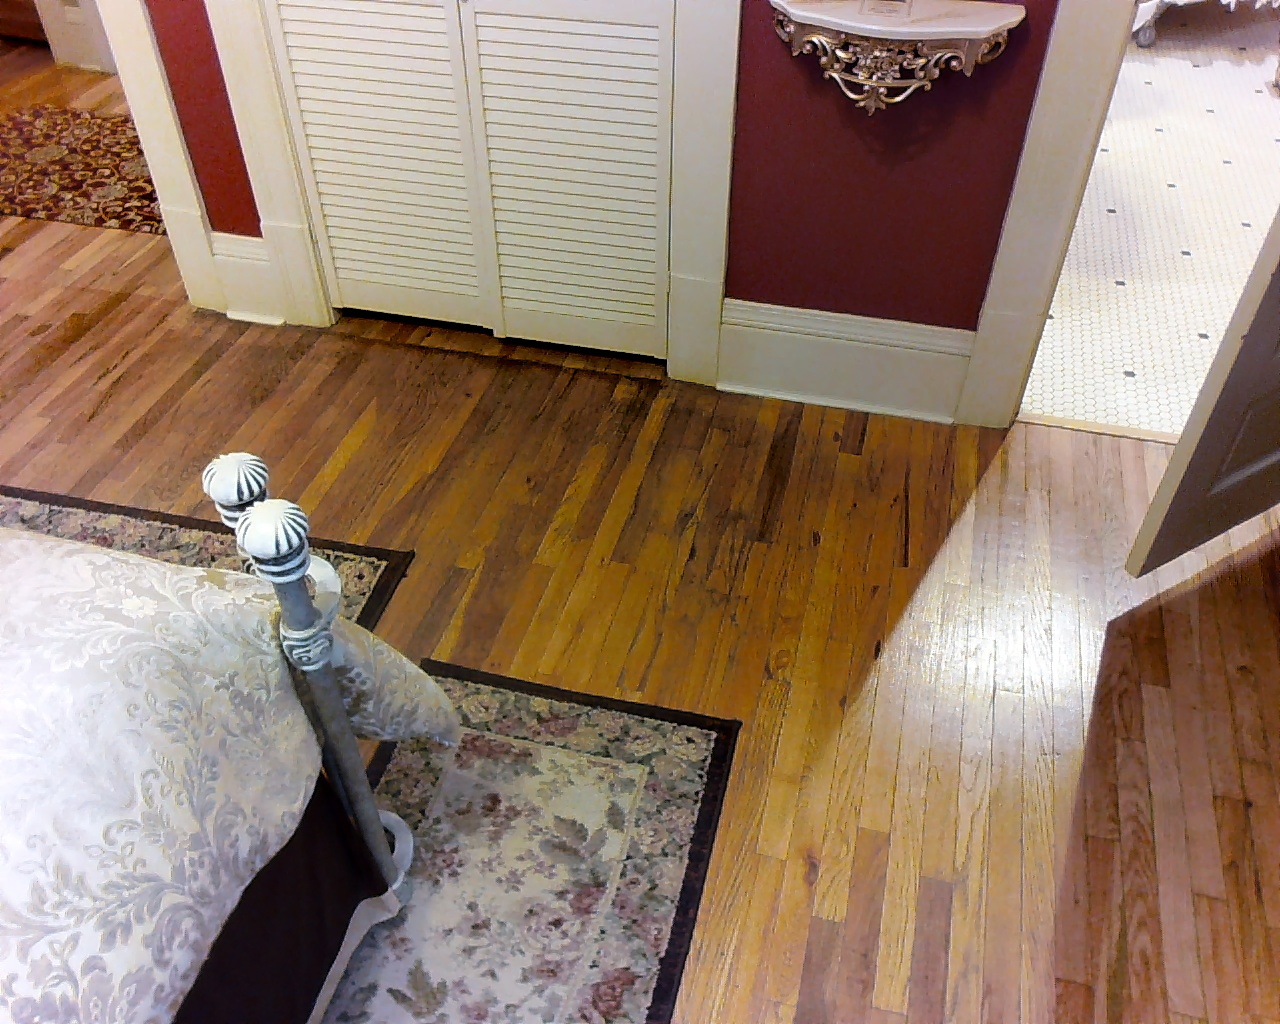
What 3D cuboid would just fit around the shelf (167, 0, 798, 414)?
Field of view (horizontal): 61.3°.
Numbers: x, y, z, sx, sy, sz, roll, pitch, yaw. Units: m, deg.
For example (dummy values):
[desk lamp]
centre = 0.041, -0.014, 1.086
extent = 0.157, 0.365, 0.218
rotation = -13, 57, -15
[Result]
[shelf]
centre = -0.350, -1.260, 1.960
extent = 1.320, 2.380, 0.110
rotation = 10, 44, 11
